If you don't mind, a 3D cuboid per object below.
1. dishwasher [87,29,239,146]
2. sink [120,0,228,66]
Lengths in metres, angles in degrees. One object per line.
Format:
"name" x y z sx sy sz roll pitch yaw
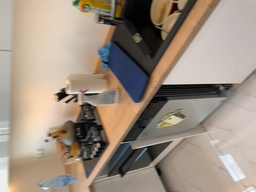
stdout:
"dishwasher" 0.240 -0.080 1.620 0.620 0.860 0.450 63 140 32
"sink" 0.180 -0.440 1.040 0.450 0.160 0.370 63 140 32
